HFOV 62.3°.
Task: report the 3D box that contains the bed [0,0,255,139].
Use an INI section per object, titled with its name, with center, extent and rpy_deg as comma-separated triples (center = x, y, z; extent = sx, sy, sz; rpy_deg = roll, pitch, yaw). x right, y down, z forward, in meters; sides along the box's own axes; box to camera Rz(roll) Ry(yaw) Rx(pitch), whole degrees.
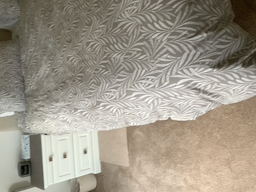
[bed]
center = -0.350, -0.770, 1.770
extent = 2.160, 0.740, 2.000
rpy_deg = -17, 77, 45
